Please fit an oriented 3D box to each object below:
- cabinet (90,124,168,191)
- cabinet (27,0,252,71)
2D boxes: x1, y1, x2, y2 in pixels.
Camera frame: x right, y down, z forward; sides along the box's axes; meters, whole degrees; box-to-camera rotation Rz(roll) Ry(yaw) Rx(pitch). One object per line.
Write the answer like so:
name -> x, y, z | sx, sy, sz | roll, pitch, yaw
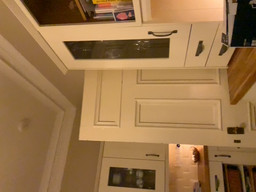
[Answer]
cabinet -> 0.050, 0.960, 3.140 | 0.300, 1.040, 1.000 | 72, -159, -64
cabinet -> 0.060, -0.470, 1.630 | 0.540, 1.410, 0.320 | 71, -158, -65
